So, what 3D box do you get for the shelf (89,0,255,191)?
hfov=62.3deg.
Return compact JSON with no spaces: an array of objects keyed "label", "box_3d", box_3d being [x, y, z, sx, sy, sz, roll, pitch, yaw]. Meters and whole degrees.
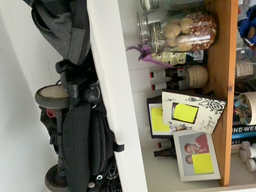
[{"label":"shelf","box_3d":[0.580,-0.080,0.820,0.440,1.250,0.940,-89,-9,-64]}]
